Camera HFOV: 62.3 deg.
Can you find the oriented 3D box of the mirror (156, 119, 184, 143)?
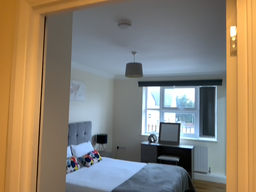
[{"bbox_3d":[1.010,0.830,5.080,0.540,0.470,0.400,1,-1,26],"label":"mirror"}]
